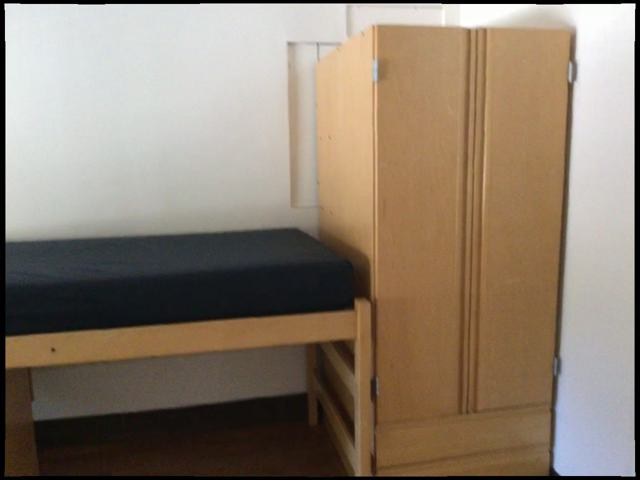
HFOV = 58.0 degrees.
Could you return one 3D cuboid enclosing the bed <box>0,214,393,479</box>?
[{"bbox_3d":[-0.948,0.571,2.390,2.265,1.072,1.130,-3,12,-8],"label":"bed"}]
